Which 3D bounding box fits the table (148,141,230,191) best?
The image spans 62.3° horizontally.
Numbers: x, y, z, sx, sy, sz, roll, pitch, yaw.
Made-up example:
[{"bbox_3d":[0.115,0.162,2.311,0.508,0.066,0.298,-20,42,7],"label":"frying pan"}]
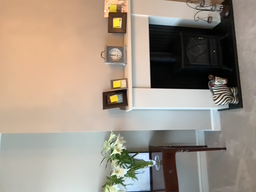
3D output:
[{"bbox_3d":[0.670,0.960,2.400,0.450,0.750,0.840,143,126,-74],"label":"table"}]
